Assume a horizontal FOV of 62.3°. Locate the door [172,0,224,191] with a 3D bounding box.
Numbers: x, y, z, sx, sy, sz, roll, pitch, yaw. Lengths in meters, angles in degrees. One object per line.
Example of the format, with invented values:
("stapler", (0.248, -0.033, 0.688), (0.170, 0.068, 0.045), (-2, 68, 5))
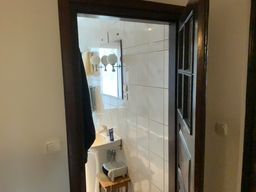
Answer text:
("door", (0.330, 0.470, 1.190), (0.130, 2.150, 0.730), (1, 8, 10))
